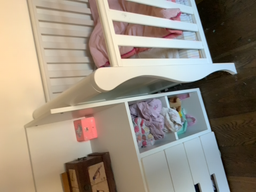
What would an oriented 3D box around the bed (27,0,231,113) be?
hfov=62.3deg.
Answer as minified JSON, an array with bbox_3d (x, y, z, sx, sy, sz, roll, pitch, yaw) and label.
[{"bbox_3d":[-0.100,-0.710,1.380,0.750,0.860,1.410,-23,78,50],"label":"bed"}]
